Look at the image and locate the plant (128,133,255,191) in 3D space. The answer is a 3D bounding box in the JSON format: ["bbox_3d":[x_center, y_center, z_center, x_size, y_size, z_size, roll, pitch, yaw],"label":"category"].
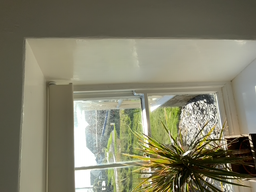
[{"bbox_3d":[0.380,0.400,1.070,0.230,0.710,0.370,125,142,-75],"label":"plant"}]
